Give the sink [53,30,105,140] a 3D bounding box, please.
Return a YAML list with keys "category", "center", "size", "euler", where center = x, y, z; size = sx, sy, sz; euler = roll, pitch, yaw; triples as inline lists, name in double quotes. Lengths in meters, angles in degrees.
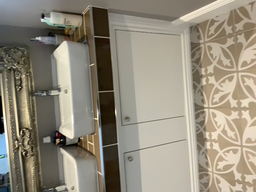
- category: "sink"
  center: [-0.330, -0.060, 1.350]
  size: [0.430, 0.170, 0.580]
  euler: [-1, 92, 60]
